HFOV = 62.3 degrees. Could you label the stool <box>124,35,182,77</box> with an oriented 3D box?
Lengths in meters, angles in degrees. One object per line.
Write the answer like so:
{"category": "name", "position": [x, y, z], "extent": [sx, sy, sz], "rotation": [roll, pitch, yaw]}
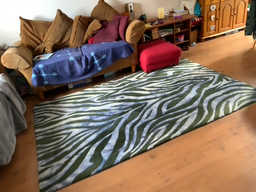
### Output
{"category": "stool", "position": [0.380, -0.650, 3.310], "extent": [0.640, 0.330, 0.650], "rotation": [-18, 31, -15]}

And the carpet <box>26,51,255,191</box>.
{"category": "carpet", "position": [0.110, 0.020, 2.560], "extent": [2.470, 0.100, 1.690], "rotation": [-18, 31, -14]}
